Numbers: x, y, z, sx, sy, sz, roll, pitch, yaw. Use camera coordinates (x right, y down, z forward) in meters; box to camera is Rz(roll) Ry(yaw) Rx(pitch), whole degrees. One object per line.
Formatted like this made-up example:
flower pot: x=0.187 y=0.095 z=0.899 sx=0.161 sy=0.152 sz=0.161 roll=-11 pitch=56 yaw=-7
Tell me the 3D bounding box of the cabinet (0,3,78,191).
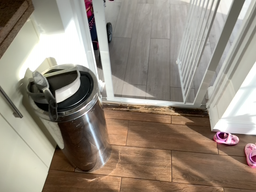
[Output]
cabinet: x=-0.560 y=0.180 z=1.000 sx=0.300 sy=0.890 sz=0.740 roll=5 pitch=53 yaw=4
